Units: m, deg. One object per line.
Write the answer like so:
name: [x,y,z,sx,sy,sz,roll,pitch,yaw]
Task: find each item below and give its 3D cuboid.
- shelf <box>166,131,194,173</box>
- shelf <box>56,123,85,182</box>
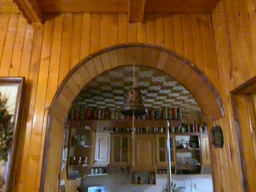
shelf: [1.110,1.210,4.600,0.500,0.860,0.270,1,-15,-3]
shelf: [-0.920,0.910,3.470,0.340,0.890,0.300,1,-15,-3]
